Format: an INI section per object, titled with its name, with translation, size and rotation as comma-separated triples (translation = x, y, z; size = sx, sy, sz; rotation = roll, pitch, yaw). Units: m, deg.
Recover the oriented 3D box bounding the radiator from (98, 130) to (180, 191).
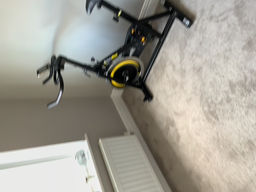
[radiator]
translation = 0.140, 0.800, 2.070
size = 1.000, 0.570, 0.120
rotation = 61, 141, 37
